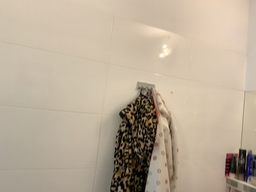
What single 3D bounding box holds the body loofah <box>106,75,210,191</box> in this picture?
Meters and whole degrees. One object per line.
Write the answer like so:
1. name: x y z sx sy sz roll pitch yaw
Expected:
1. body loofah: 0.130 0.700 1.200 0.470 1.560 0.270 8 -4 -27
